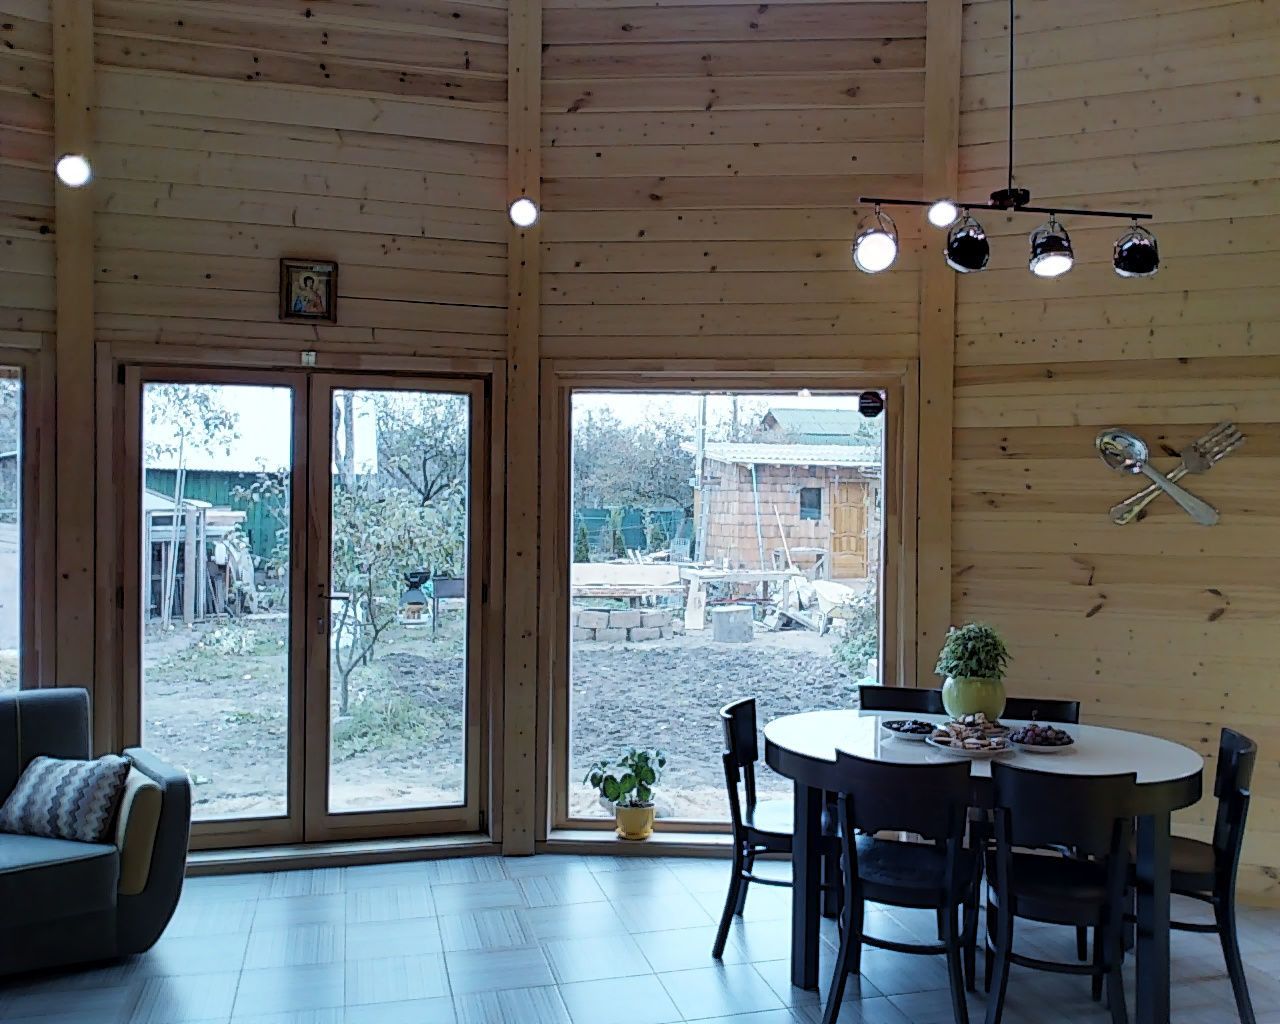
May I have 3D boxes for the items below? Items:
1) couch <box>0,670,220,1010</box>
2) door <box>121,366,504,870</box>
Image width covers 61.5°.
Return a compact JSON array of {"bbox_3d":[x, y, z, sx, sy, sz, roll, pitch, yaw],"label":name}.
[{"bbox_3d":[-2.769,1.090,3.410,2.509,0.850,1.080,0,0,-33],"label":"couch"},{"bbox_3d":[-1.390,0.440,4.690,1.550,2.061,0.180,1,0,-16],"label":"door"}]
